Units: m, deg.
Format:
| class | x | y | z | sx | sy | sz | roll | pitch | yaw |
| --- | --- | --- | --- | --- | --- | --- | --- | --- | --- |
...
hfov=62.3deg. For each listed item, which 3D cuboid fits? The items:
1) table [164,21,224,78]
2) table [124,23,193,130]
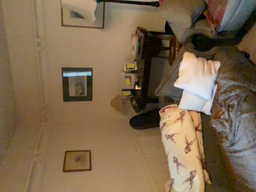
| class | x | y | z | sx | sy | sz | roll | pitch | yaw |
| --- | --- | --- | --- | --- | --- | --- | --- | --- | --- |
| table | 0.810 | -0.600 | 2.740 | 0.460 | 0.420 | 0.580 | 103 | 161 | -47 |
| table | 0.430 | -0.310 | 3.600 | 0.580 | 0.780 | 1.660 | -118 | 29 | -61 |
